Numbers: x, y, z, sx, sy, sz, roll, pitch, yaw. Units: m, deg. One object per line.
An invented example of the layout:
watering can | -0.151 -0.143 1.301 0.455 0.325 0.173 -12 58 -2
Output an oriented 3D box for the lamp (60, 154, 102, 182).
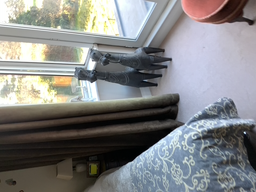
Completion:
lamp | -0.630 0.950 2.800 0.310 0.470 0.220 -52 46 52
